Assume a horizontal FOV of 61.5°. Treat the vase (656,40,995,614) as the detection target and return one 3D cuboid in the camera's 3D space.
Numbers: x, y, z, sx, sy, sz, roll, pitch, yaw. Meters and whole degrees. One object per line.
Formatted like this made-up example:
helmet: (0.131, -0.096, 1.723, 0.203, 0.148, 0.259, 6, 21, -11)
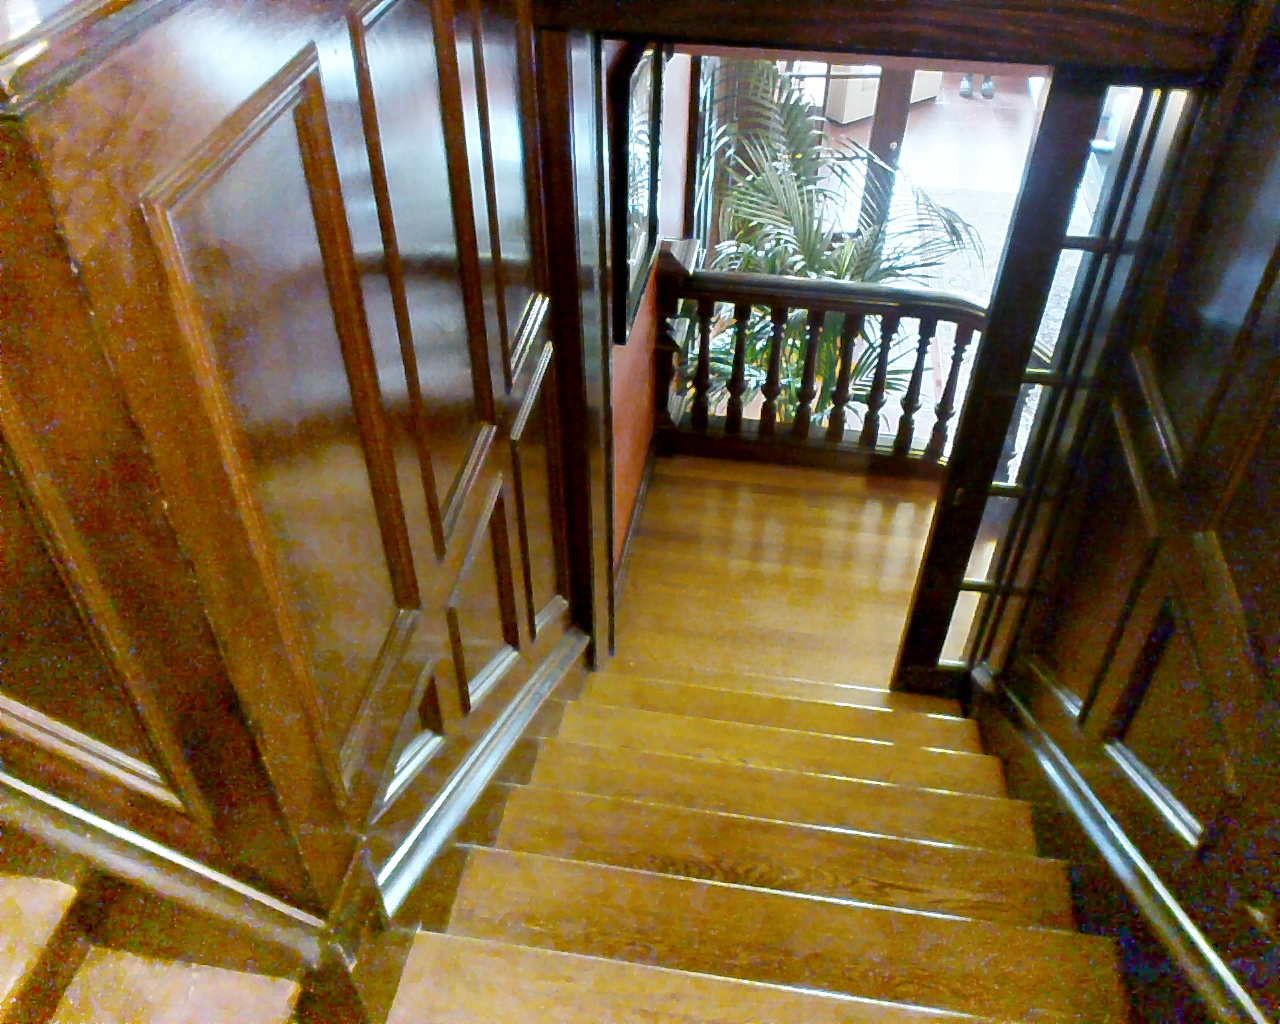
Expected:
vase: (0.830, -0.930, 5.350, 1.230, 2.090, 1.790, 6, 42, 7)
